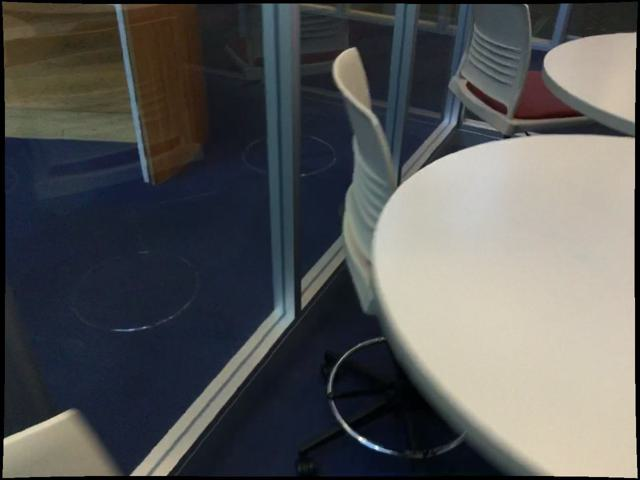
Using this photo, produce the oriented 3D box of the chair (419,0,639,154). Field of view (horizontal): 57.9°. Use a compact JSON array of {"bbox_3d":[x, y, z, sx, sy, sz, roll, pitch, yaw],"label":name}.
[{"bbox_3d":[0.769,-0.691,2.090,0.550,0.460,0.600,-11,38,-16],"label":"chair"}]
